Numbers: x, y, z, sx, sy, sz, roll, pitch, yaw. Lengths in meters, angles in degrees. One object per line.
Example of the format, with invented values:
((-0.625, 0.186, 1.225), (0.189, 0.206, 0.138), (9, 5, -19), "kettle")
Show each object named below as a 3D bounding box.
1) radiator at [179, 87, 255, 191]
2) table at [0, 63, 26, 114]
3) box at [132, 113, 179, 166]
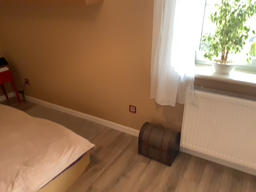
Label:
((1.090, 0.440, 1.720), (1.270, 0.790, 0.130), (15, 29, 29), "radiator")
((-1.890, -0.110, 3.080), (0.400, 0.570, 0.490), (13, 28, 25), "table")
((0.270, 0.430, 2.160), (0.380, 0.340, 0.250), (18, 30, 33), "box")
